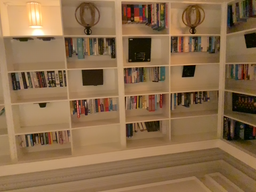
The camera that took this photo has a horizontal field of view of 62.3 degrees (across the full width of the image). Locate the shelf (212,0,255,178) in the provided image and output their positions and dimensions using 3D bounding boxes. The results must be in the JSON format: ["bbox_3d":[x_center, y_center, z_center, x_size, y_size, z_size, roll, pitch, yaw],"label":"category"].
[{"bbox_3d":[1.540,-0.080,2.290,0.280,2.000,1.530,-4,-171,-13],"label":"shelf"}]
